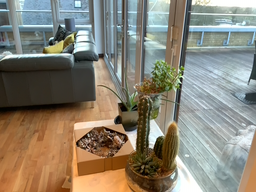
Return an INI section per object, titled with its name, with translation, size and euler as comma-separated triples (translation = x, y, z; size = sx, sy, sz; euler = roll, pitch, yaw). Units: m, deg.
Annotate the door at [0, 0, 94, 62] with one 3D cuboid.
[door]
translation = -2.840, -1.920, 5.250
size = 3.860, 2.160, 0.080
euler = -4, 24, -13
